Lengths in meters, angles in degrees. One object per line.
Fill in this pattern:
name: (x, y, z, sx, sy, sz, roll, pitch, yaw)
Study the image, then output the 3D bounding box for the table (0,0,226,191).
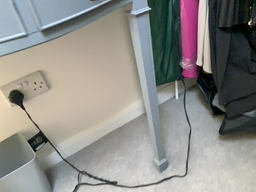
table: (-0.210, 0.030, 0.640, 0.900, 0.760, 0.420, -26, 38, -21)
